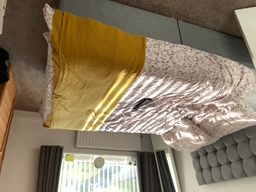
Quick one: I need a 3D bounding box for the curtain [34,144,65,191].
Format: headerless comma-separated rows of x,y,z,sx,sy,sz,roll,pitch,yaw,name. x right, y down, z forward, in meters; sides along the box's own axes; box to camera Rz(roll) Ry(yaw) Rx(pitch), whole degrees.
-1.090,1.640,2.720,0.330,1.970,0.250,10,150,-22,curtain
